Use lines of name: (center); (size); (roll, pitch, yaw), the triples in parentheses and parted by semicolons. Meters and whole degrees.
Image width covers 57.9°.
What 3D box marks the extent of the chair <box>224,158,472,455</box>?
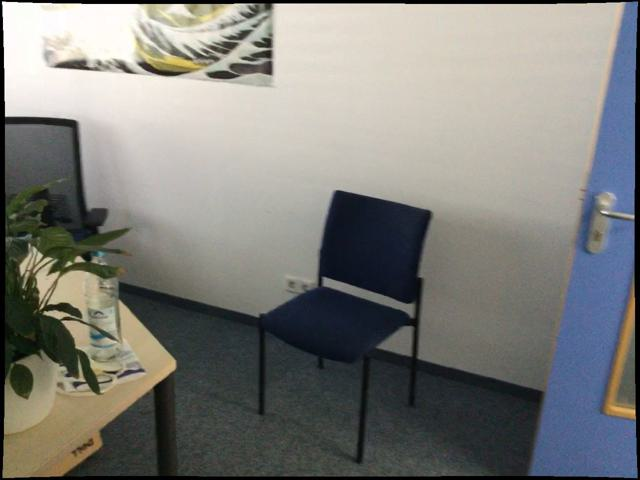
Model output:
chair: (0.130, 0.180, 2.280); (0.570, 0.791, 0.820); (15, 25, 31)

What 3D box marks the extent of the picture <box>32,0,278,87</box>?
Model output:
picture: (-0.829, -1.201, 2.680); (1.419, 0.841, 0.130); (12, 24, 26)

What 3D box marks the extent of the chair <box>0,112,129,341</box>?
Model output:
chair: (-1.419, -0.100, 2.920); (0.709, 0.971, 0.670); (-3, 22, -11)
